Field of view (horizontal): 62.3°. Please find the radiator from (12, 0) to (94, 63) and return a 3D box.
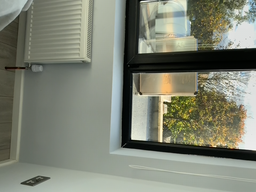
[{"bbox_3d":[-0.520,-0.880,1.520,0.110,0.580,1.260,8,84,-73],"label":"radiator"}]
